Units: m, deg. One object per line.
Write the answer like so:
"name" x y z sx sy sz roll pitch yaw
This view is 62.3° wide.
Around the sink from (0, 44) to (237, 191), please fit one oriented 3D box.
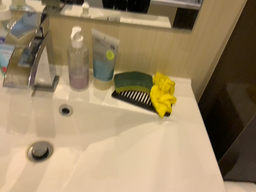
"sink" -0.200 0.110 0.490 0.780 0.150 0.570 5 42 -6
